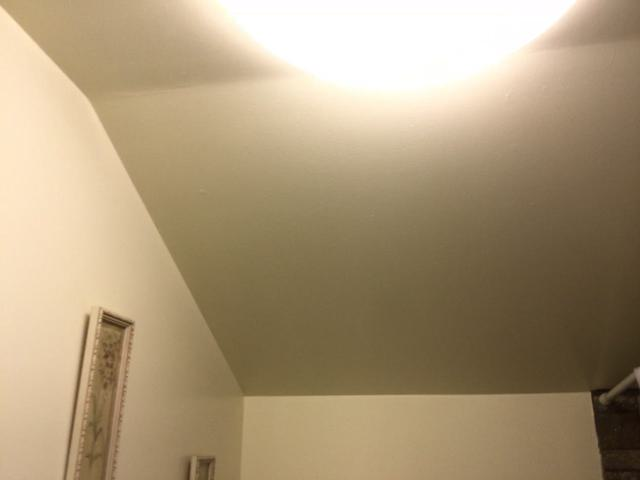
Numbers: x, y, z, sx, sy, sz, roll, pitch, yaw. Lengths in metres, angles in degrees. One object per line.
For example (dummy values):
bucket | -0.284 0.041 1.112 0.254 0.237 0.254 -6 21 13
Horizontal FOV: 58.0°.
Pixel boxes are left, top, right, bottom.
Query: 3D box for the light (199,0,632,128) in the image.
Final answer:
light | 0.110 -0.320 0.680 0.480 0.110 0.410 -5 -23 10

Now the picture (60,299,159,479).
picture | -0.370 0.300 1.040 0.040 0.340 0.200 -5 -23 10
